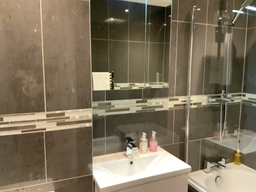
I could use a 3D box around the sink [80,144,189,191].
[{"bbox_3d":[0.030,0.510,1.450,0.630,0.150,0.390,-3,8,-24],"label":"sink"}]
